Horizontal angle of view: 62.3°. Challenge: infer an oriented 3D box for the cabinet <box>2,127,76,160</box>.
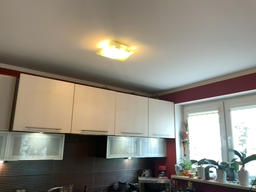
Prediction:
[{"bbox_3d":[-1.030,0.560,2.500,0.710,0.330,0.320,10,-15,-35],"label":"cabinet"}]
